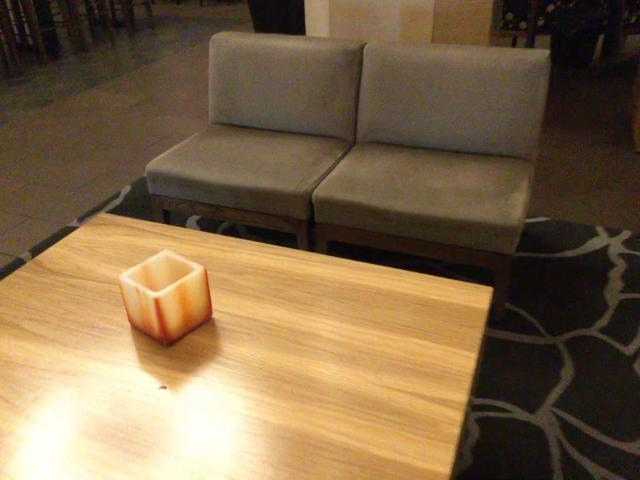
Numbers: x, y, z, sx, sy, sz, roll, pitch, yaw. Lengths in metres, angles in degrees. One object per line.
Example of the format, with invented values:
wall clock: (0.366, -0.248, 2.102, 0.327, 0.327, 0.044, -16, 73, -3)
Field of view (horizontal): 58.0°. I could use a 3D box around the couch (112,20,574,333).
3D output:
couch: (0.110, -0.340, 2.300, 1.510, 0.810, 0.730, 11, 34, 19)
